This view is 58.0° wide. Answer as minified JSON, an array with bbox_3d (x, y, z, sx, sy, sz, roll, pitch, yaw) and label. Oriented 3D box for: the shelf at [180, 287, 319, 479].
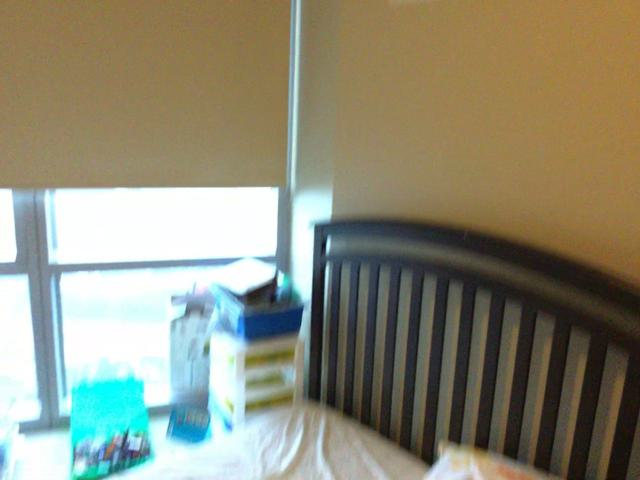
[{"bbox_3d":[-0.310,0.590,2.430,0.370,0.640,0.430,-7,18,-40],"label":"shelf"}]
